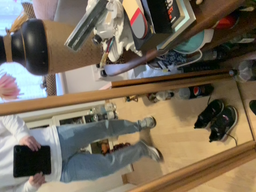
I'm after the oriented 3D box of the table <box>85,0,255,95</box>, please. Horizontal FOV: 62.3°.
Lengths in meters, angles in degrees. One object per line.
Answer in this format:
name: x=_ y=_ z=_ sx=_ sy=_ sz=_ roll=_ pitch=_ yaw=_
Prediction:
table: x=0.310 y=-0.310 z=0.990 sx=1.010 sy=0.700 sz=0.320 roll=-23 pitch=78 yaw=60
